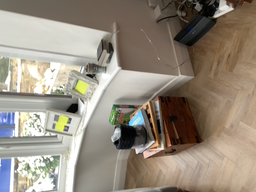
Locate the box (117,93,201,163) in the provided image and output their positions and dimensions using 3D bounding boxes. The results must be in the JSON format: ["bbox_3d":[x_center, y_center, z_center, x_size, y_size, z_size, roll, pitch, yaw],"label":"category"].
[{"bbox_3d":[0.190,0.260,1.580,0.540,0.290,0.350,-42,51,52],"label":"box"}]
